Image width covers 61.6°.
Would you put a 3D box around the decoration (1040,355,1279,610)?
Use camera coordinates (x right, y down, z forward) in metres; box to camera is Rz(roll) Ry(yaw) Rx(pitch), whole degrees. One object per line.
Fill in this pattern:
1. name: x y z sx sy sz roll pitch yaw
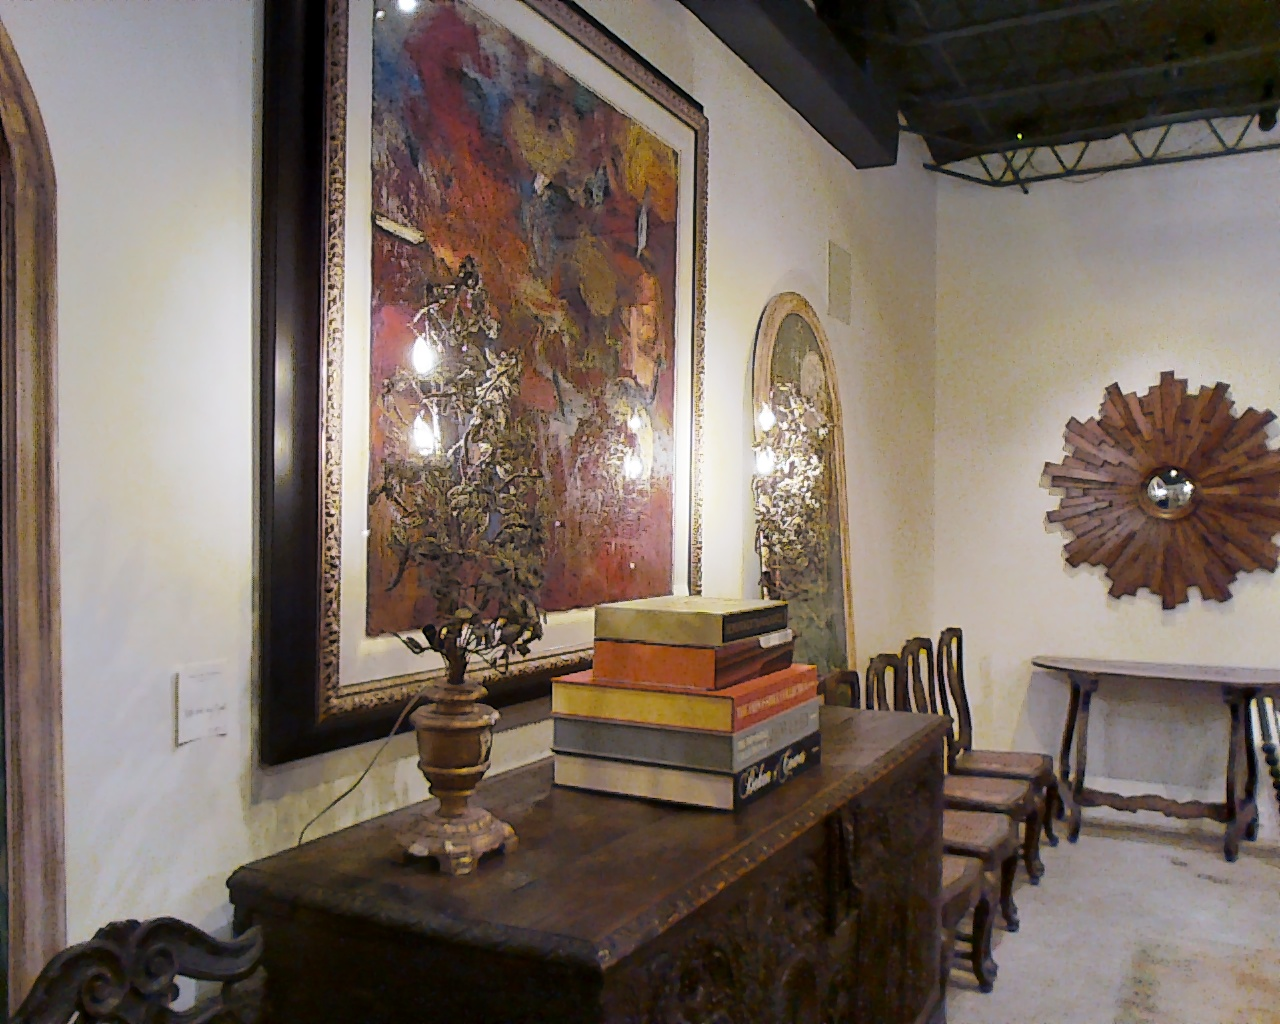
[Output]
1. decoration: 2.640 -0.140 5.350 1.200 1.210 0.090 0 0 28
